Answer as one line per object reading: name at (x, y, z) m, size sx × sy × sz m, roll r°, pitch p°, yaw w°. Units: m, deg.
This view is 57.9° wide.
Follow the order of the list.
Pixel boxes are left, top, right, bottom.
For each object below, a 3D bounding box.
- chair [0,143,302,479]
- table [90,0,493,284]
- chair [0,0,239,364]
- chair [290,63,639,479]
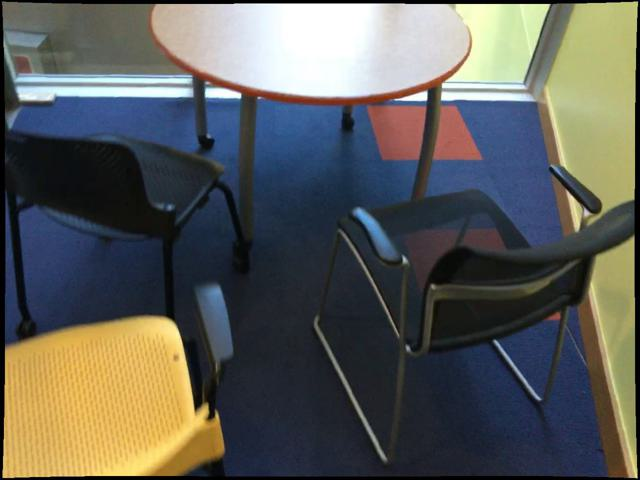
chair at (-0.450, 0.360, 1.120) m, size 0.580 × 0.760 × 0.620 m, roll -19°, pitch 49°, yaw -22°
table at (-0.020, -0.561, 2.180) m, size 1.099 × 0.670 × 1.120 m, roll 9°, pitch 45°, yaw 4°
chair at (-0.569, -0.160, 1.620) m, size 0.480 × 0.740 × 0.580 m, roll 13°, pitch 45°, yaw 8°
chair at (0.350, 0.080, 1.490) m, size 0.679 × 0.740 × 0.680 m, roll -10°, pitch 46°, yaw -15°
